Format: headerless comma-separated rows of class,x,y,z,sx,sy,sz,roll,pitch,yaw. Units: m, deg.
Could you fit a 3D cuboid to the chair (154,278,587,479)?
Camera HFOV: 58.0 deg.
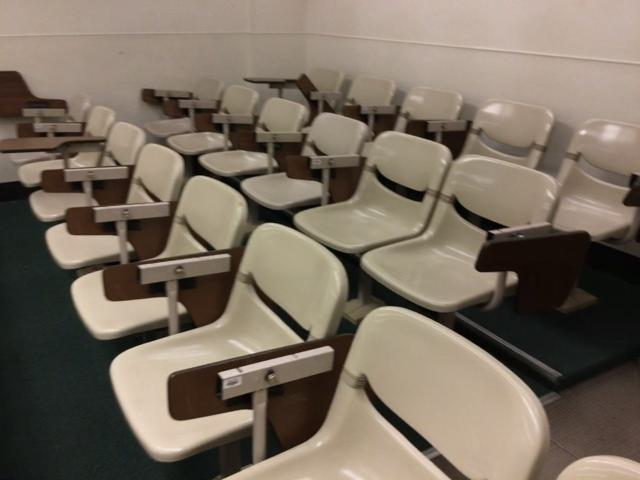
chair,0.020,0.550,1.140,0.530,0.740,0.610,-5,18,-29

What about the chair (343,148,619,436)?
chair,0.510,0.110,2.010,0.580,0.780,0.590,-5,18,-29

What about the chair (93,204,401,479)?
chair,-0.250,0.390,1.570,0.560,0.820,0.680,-5,18,-29

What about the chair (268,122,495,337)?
chair,0.210,-0.100,2.400,0.590,0.690,0.690,-5,18,-29

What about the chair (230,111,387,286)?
chair,-0.080,-0.230,2.780,0.540,0.710,0.510,-5,18,-29

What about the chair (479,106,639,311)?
chair,1.130,-0.170,2.370,0.620,0.680,0.560,-5,18,-29

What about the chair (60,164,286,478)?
chair,-0.540,0.200,2.020,0.570,0.820,0.670,-5,18,-29

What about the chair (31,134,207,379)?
chair,-0.890,0.000,2.510,0.560,0.820,0.780,-5,18,-29
